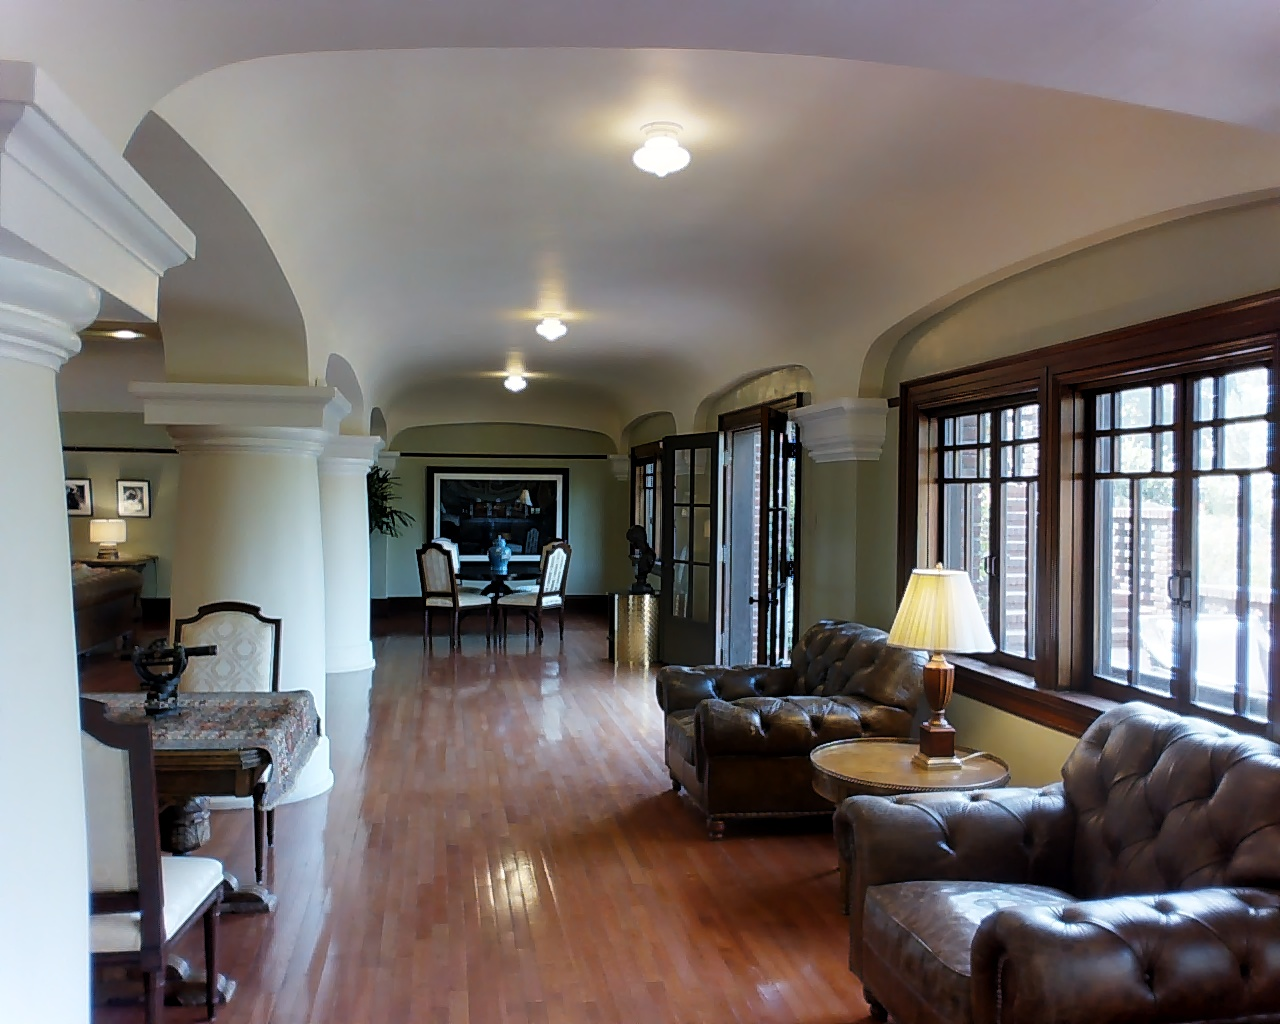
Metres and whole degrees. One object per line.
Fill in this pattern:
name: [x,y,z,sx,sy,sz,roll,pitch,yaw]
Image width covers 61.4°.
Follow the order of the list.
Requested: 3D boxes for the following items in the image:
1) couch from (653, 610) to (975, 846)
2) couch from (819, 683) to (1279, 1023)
couch: [0.810,1.020,5.470,1.260,0.910,1.220,1,1,-10]
couch: [1.280,1.060,2.940,1.200,0.960,1.220,1,1,-10]
